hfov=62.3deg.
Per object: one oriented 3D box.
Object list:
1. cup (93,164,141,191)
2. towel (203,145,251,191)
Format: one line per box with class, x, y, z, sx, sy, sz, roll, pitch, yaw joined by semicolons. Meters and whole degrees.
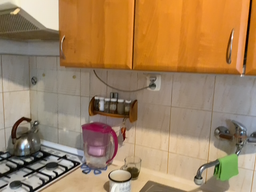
cup;-0.050;0.420;1.020;0.150;0.080;0.190;7;10;29
towel;0.430;0.450;0.940;0.160;0.390;0.200;7;10;29
